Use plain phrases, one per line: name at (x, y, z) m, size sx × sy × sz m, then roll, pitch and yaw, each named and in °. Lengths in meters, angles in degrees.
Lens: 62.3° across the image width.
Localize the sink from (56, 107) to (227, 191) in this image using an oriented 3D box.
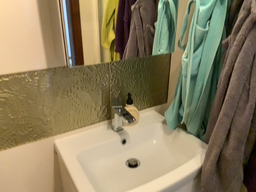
sink at (0.040, 0.250, 0.910) m, size 0.560 × 0.110 × 0.450 m, roll -14°, pitch 28°, yaw -29°
